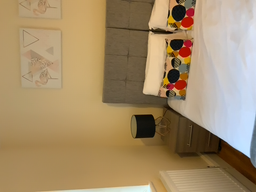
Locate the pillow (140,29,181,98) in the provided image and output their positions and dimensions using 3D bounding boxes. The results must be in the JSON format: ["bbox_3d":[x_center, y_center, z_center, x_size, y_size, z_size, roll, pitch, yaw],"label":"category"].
[{"bbox_3d":[0.330,-0.320,2.160,0.160,0.330,0.650,19,109,55],"label":"pillow"}]
